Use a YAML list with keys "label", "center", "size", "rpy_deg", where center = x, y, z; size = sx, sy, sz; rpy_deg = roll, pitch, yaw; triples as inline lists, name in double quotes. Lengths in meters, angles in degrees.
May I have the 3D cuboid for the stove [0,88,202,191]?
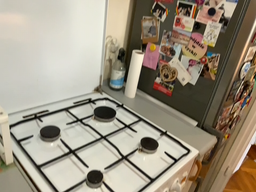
- label: "stove"
  center: [-0.120, 0.200, 0.770]
  size: [0.550, 0.150, 0.510]
  rpy_deg: [32, 34, 35]
